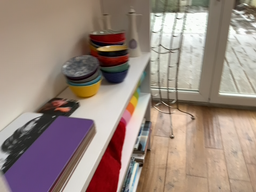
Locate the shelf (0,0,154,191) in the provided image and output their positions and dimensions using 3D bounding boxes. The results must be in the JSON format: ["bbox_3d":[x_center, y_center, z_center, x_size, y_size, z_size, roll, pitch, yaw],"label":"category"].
[{"bbox_3d":[-0.250,-0.070,0.200,0.260,2.030,2.140,5,31,13],"label":"shelf"}]
